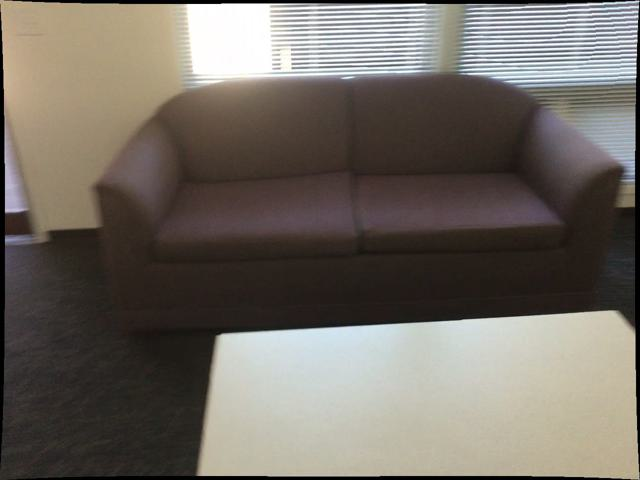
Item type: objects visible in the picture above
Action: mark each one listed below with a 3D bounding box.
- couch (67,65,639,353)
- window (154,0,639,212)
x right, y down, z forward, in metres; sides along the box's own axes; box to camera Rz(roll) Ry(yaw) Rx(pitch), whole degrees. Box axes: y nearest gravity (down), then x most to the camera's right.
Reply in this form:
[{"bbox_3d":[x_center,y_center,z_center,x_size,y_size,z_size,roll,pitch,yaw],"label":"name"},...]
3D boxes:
[{"bbox_3d":[0.100,-0.190,2.390,1.787,0.781,0.930,-3,30,-3],"label":"couch"},{"bbox_3d":[0.539,-1.122,2.440,2.416,1.992,0.290,-3,30,-3],"label":"window"}]
